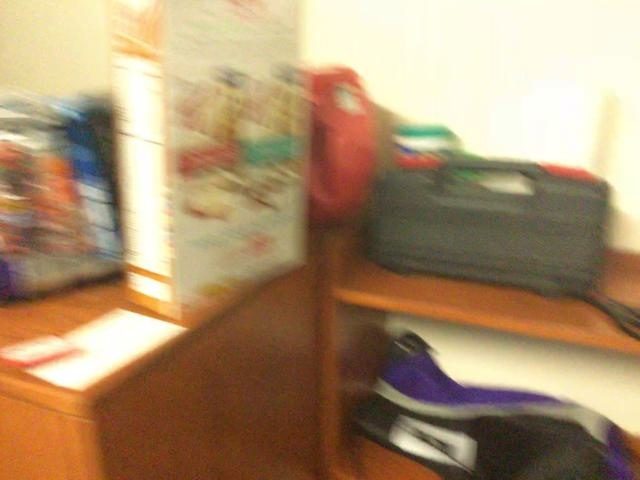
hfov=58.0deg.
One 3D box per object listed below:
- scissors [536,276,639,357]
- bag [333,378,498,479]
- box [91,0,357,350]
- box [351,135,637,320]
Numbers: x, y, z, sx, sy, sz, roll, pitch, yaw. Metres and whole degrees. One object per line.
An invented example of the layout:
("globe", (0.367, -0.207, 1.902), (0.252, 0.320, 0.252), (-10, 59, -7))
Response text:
("scissors", (0.380, 0.090, 0.730), (0.120, 0.020, 0.180), (-3, 17, -13))
("bag", (0.150, 0.310, 0.940), (0.240, 0.050, 0.110), (14, 21, 39))
("box", (-0.100, -0.090, 0.590), (0.220, 0.330, 0.160), (-6, 18, -21))
("box", (0.240, -0.040, 0.810), (0.330, 0.170, 0.210), (10, 19, 28))
